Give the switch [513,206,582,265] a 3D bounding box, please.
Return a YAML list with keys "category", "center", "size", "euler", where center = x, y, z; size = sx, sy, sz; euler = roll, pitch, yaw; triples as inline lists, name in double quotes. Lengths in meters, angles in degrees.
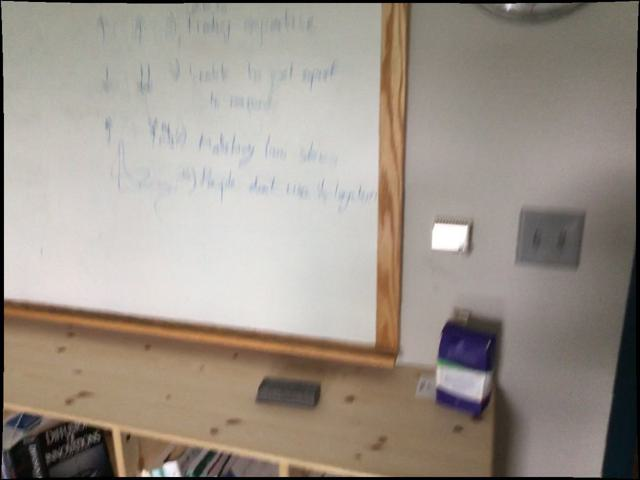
- category: "switch"
  center: [0.459, -0.010, 1.170]
  size: [0.120, 0.110, 0.020]
  euler: [5, 20, 17]
